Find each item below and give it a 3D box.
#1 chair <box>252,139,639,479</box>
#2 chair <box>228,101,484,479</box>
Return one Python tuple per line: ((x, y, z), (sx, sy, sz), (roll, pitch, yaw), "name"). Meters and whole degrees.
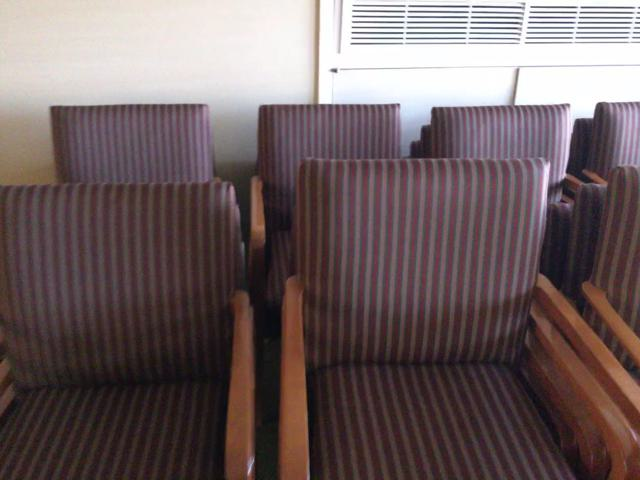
((0.220, 0.450, 1.150), (0.650, 1.160, 0.680), (-2, 22, -9), "chair")
((0.040, 0.140, 1.830), (0.610, 1.050, 0.600), (-2, 22, -9), "chair")
